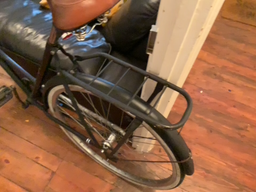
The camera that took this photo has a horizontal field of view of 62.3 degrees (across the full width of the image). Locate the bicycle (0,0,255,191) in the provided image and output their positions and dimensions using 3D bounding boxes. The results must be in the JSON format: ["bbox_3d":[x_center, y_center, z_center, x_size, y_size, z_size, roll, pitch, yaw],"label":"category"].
[{"bbox_3d":[-0.360,-0.120,0.920,2.170,1.070,0.310,31,62,13],"label":"bicycle"}]
